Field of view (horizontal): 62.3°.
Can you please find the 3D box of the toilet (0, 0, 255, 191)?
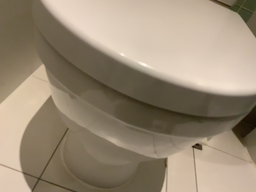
[{"bbox_3d":[0.070,-0.190,0.460,0.410,0.800,0.660,23,38,-3],"label":"toilet"}]
